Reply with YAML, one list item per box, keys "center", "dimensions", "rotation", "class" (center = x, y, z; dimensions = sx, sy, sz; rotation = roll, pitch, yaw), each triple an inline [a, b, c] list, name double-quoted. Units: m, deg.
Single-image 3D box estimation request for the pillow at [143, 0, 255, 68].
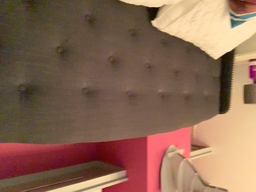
- center: [0.540, -0.450, 1.110]
  dimensions: [0.770, 0.550, 0.200]
  rotation: [5, -125, -51]
  class: "pillow"
